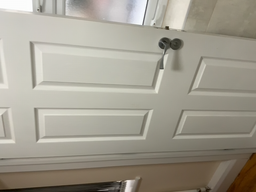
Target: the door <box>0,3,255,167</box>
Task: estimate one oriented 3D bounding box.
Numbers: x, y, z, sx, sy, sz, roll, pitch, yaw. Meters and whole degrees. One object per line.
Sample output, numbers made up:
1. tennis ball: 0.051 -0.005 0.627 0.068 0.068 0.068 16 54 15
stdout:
1. door: 0.110 0.030 1.140 0.060 2.020 0.790 -115 31 -57
